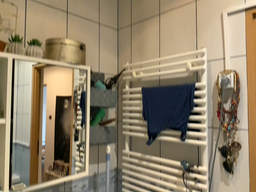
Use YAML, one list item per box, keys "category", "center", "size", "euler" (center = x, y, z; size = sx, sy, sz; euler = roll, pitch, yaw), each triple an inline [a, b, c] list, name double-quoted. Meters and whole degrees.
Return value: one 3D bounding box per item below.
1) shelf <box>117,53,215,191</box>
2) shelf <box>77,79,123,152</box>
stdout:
- category: "shelf"
  center: [0.190, 0.300, 1.330]
  size: [0.120, 1.010, 0.660]
  euler: [2, -3, -43]
- category: "shelf"
  center: [-0.180, 0.120, 1.410]
  size: [0.240, 0.430, 0.180]
  euler: [3, -3, -45]
